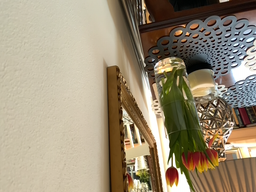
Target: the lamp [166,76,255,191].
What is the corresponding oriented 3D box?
[{"bbox_3d":[0.360,0.230,0.870,0.330,0.480,0.330,-8,153,5],"label":"lamp"}]
